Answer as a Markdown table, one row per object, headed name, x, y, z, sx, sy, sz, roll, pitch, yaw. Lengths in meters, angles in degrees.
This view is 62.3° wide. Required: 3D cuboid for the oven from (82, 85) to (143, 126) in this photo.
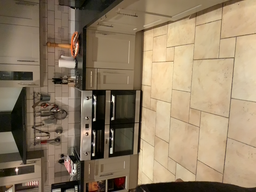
| name | x | y | z | sx | sy | sz | roll | pitch | yaw |
| --- | --- | --- | --- | --- | --- | --- | --- | --- | --- |
| oven | -0.270 | 0.120 | 3.330 | 0.630 | 0.760 | 0.500 | -159 | 71 | -64 |
